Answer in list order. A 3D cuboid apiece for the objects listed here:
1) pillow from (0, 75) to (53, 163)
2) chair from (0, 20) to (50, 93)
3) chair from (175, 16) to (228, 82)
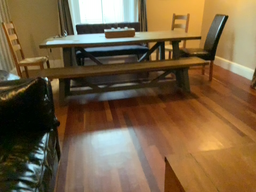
[{"bbox_3d":[-0.820,0.160,1.390,0.530,0.520,0.190,-6,23,-10],"label":"pillow"},{"bbox_3d":[-1.630,-0.640,3.380,0.500,1.020,0.520,-5,23,-8],"label":"chair"},{"bbox_3d":[1.190,-0.800,3.580,0.640,1.010,0.450,-2,23,-2],"label":"chair"}]
